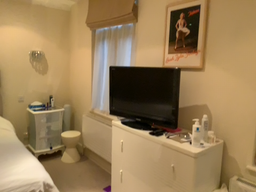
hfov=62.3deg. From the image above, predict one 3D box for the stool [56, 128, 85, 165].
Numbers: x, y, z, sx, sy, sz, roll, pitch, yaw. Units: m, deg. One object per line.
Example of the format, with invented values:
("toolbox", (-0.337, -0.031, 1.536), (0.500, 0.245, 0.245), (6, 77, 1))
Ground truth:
("stool", (-0.910, 0.780, 3.350), (0.320, 0.450, 0.310), (-5, 11, -41))
